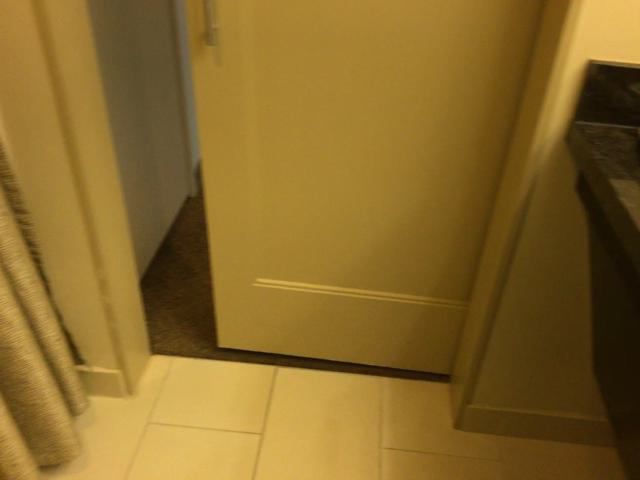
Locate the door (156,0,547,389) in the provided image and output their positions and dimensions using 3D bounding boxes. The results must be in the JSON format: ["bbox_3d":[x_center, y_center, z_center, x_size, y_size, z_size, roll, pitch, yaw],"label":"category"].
[{"bbox_3d":[0.040,-0.190,1.290,0.700,1.360,0.120,5,37,4],"label":"door"}]
